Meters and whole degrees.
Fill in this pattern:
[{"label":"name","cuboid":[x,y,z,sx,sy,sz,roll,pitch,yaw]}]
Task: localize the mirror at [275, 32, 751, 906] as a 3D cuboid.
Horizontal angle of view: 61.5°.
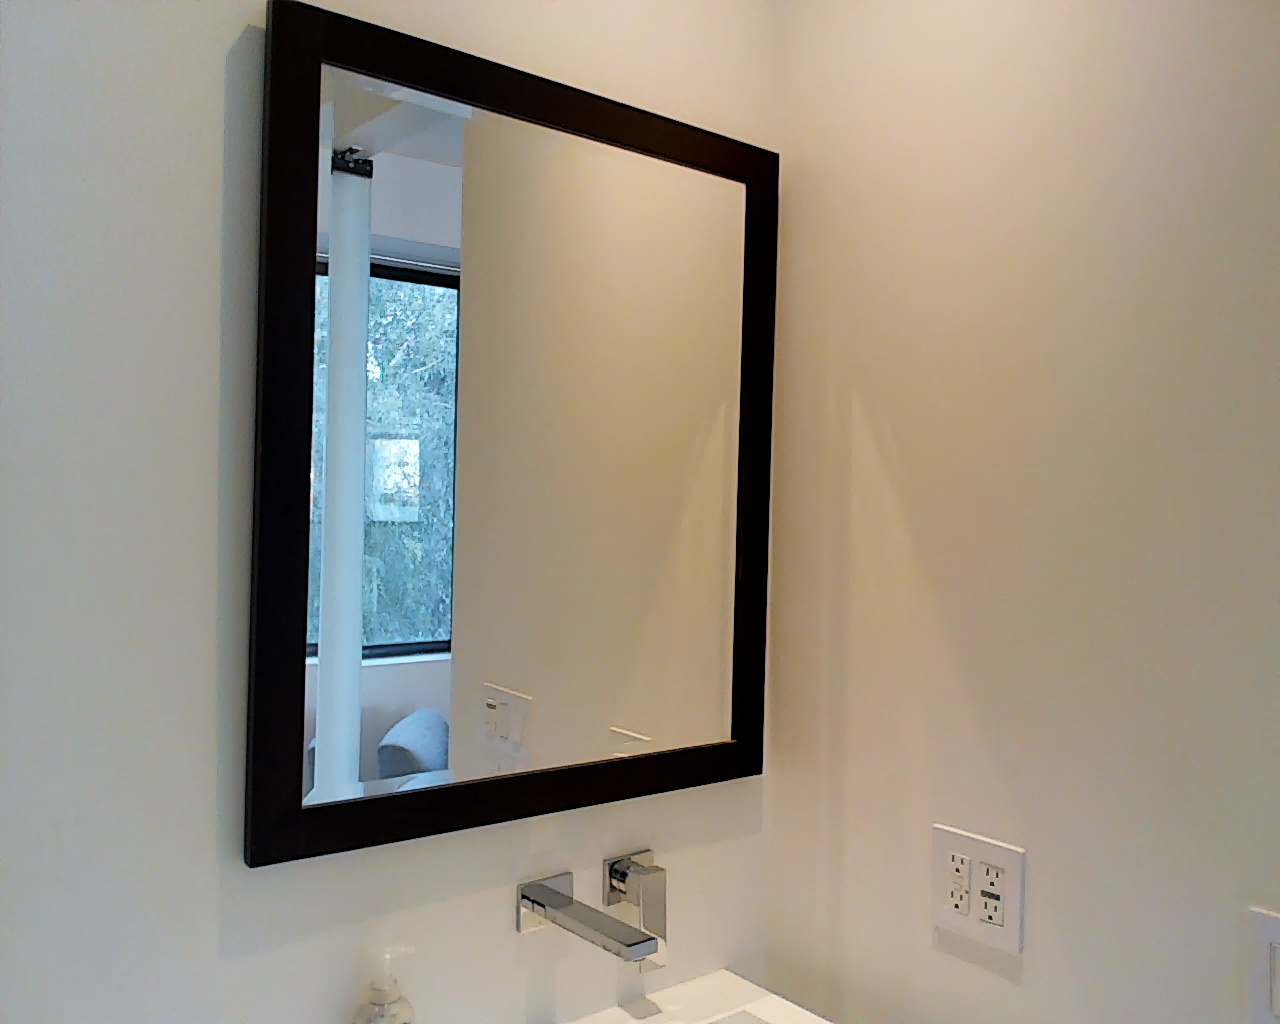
[{"label":"mirror","cuboid":[-0.110,-0.040,1.280,0.630,0.860,0.050,1,0,-40]}]
